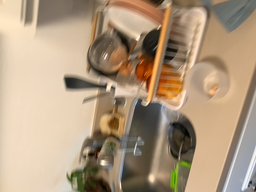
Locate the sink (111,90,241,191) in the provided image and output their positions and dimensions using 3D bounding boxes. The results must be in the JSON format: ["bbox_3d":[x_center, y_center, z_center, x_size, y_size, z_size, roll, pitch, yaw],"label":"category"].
[{"bbox_3d":[0.170,0.300,0.970,0.420,0.250,0.560,28,112,53],"label":"sink"}]
